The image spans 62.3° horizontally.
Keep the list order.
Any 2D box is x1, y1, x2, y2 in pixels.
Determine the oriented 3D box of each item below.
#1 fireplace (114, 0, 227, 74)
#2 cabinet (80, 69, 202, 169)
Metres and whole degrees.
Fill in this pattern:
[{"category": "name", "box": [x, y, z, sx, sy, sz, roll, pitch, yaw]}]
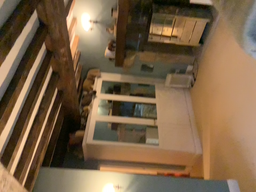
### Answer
[{"category": "fireplace", "box": [0.670, -1.440, 4.350, 1.660, 1.780, 0.880, 99, 175, -51]}, {"category": "cabinet", "box": [0.240, 0.460, 4.790, 0.840, 2.230, 1.920, 99, 175, -49]}]
